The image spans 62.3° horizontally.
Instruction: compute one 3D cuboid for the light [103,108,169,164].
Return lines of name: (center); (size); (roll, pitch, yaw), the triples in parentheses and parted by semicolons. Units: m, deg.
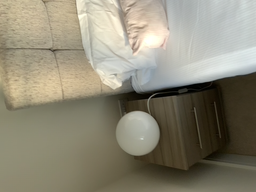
light: (0.040, 0.210, 1.210); (0.280, 0.210, 0.240); (-6, 93, 50)
